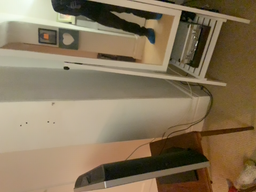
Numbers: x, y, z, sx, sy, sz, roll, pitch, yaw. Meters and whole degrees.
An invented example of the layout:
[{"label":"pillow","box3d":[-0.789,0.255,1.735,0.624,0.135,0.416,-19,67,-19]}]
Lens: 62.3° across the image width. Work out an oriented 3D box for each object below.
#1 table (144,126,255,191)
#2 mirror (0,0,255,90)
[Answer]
[{"label":"table","box3d":[0.500,0.490,1.470,0.610,0.490,0.420,140,125,-61]},{"label":"mirror","box3d":[-0.120,-0.410,1.310,0.420,1.950,0.610,-129,44,-54]}]
